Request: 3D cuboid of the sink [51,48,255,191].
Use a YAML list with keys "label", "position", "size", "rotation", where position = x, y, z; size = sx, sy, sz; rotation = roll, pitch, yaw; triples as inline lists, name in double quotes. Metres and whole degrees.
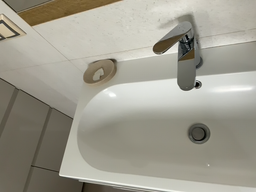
- label: "sink"
  position: [0.180, 0.080, 0.600]
  size: [0.810, 0.100, 0.400]
  rotation: [-3, 64, 25]
